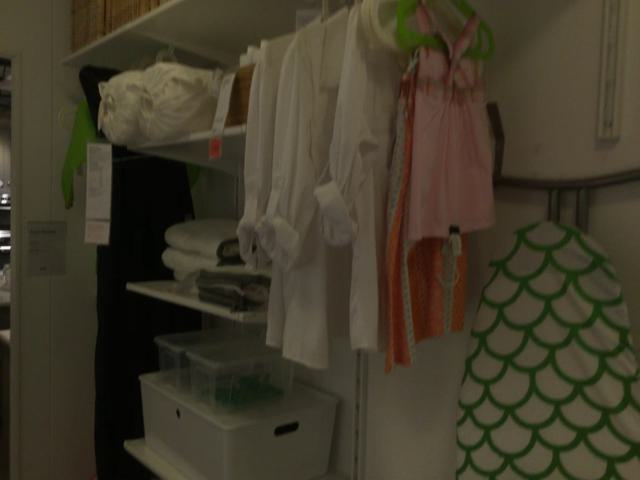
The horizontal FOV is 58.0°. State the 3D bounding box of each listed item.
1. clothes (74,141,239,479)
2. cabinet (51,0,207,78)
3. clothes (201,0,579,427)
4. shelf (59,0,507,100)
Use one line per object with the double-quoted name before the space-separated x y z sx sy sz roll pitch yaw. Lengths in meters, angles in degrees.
"clothes" -0.550 0.290 1.950 0.450 1.180 0.280 -2 4 -41
"cabinet" -0.670 -0.810 1.880 0.090 0.380 1.050 -2 4 -41
"clothes" 0.120 -0.160 1.140 0.490 0.800 0.530 -2 4 -41
"shelf" -0.220 -0.600 1.590 0.390 0.140 1.890 -2 4 -41
